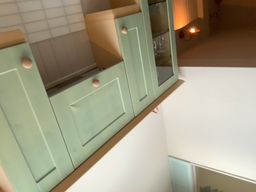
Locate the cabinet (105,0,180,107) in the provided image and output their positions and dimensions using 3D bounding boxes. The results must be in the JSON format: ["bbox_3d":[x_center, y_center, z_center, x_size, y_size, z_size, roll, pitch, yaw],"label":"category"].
[{"bbox_3d":[0.150,-0.590,1.870,0.340,1.250,0.510,8,-151,37],"label":"cabinet"}]

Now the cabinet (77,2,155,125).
[{"bbox_3d":[-0.060,-0.240,1.660,0.340,0.840,0.310,8,-151,37],"label":"cabinet"}]

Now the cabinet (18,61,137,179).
[{"bbox_3d":[-0.280,0.100,1.410,0.350,0.510,0.580,8,-151,37],"label":"cabinet"}]
